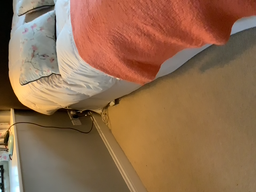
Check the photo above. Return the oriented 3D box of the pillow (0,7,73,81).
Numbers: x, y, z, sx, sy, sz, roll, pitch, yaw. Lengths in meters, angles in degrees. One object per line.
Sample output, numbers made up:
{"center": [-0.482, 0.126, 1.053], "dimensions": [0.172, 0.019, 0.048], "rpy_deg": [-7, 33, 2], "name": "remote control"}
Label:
{"center": [-0.700, -0.390, 1.590], "dimensions": [0.530, 0.260, 0.070], "rpy_deg": [47, 138, -13], "name": "pillow"}
